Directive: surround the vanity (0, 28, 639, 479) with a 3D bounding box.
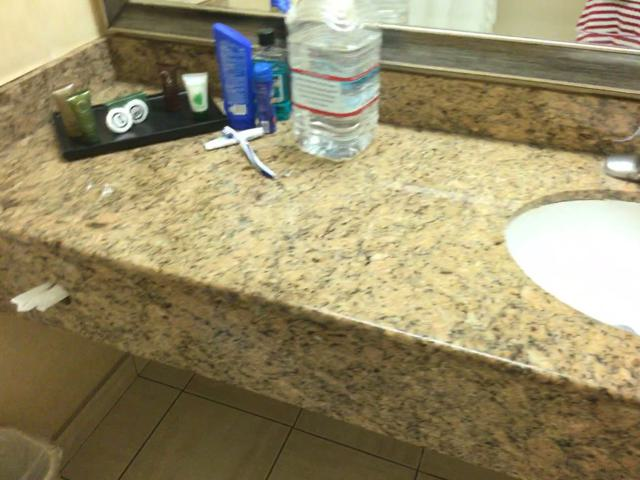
[{"bbox_3d":[0.120,0.010,0.950,1.490,0.400,0.600,12,37,17],"label":"vanity"}]
